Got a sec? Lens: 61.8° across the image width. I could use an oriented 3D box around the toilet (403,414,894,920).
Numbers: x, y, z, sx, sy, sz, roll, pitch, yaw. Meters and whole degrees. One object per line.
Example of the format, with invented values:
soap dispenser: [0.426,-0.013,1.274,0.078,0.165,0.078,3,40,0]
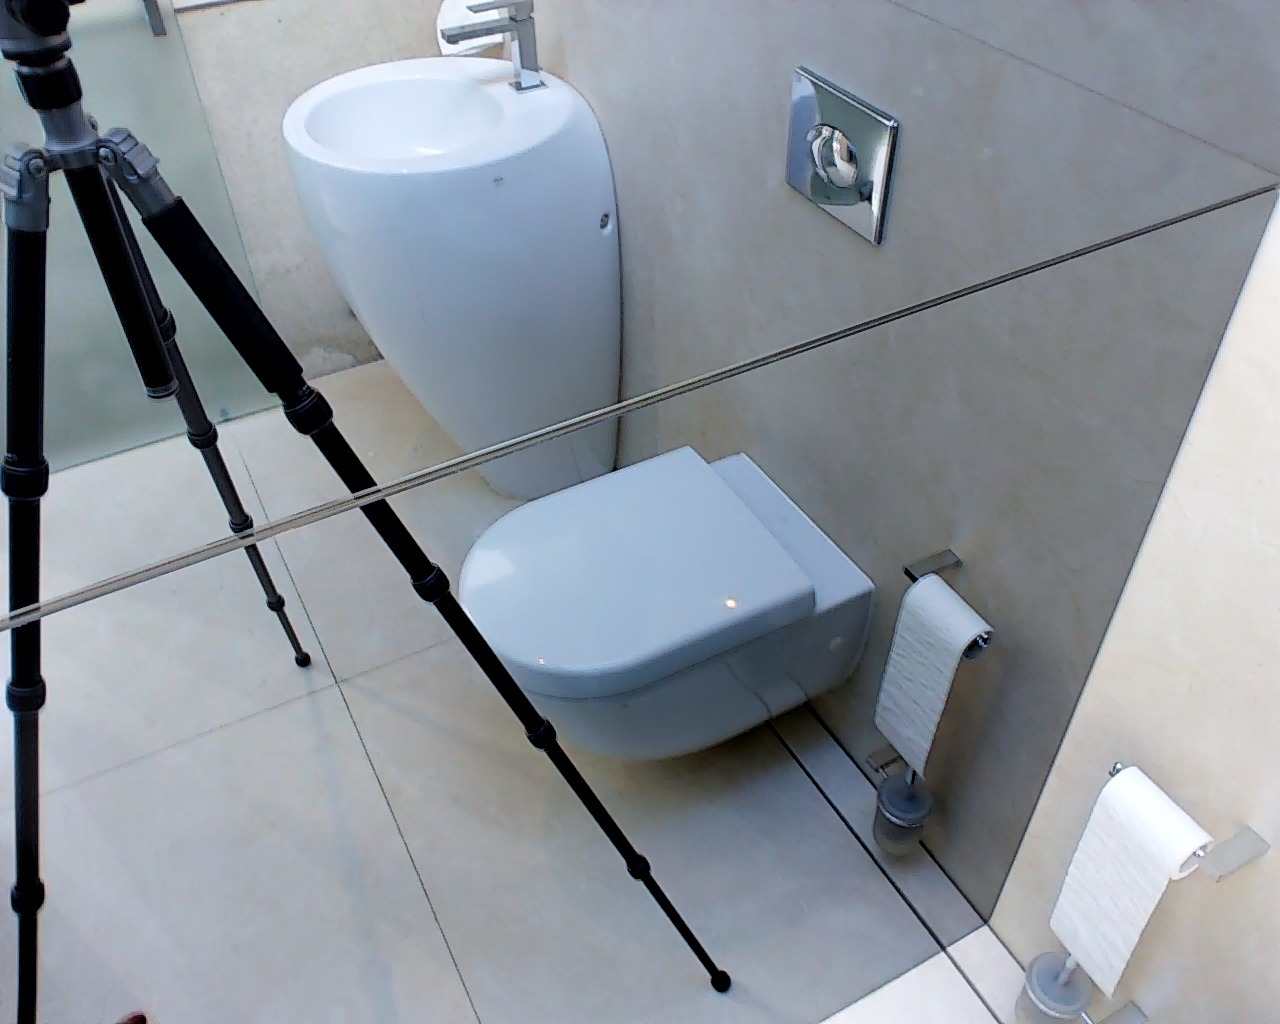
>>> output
toilet: [0.010,0.230,1.680,0.580,0.480,0.390,-21,47,-19]
